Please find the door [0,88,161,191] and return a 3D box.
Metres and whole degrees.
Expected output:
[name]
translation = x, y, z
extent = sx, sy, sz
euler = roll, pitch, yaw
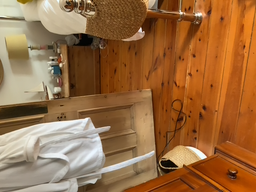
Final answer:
[door]
translation = -0.570, 0.450, 1.510
extent = 0.110, 1.970, 0.840
euler = 2, 98, 57
